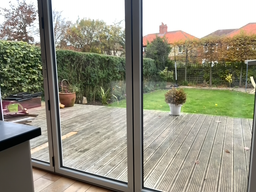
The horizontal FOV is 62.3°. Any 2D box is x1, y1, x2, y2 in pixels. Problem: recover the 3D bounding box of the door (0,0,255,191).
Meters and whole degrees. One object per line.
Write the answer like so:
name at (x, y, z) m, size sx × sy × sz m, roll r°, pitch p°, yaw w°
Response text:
door at (-1.040, -0.260, 2.130) m, size 4.450 × 2.380 × 0.130 m, roll 4°, pitch 11°, yaw 24°
